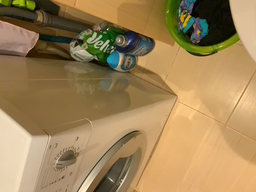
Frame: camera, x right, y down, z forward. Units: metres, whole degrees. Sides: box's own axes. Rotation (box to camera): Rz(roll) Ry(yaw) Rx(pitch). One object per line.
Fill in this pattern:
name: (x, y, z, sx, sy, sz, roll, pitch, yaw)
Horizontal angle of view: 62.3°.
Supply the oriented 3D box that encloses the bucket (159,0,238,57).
bucket: (0.300, -0.320, 0.860, 0.230, 0.290, 0.290, 8, 98, 29)
